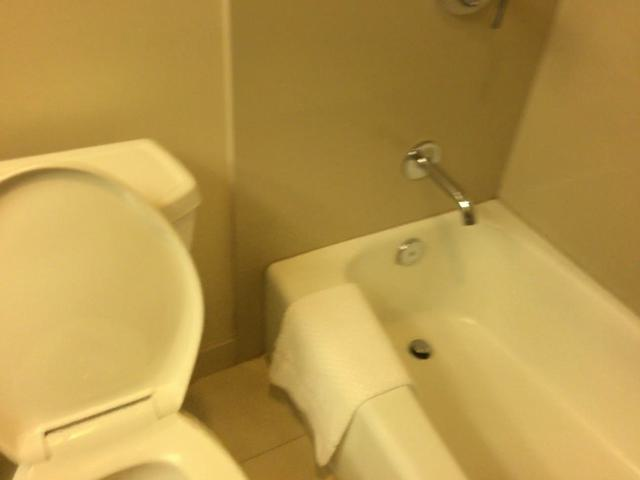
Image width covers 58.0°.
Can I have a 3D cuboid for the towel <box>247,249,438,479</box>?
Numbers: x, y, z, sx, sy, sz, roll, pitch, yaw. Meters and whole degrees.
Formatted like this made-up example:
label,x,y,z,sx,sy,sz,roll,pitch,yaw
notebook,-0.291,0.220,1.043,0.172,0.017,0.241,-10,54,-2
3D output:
label,x,y,z,sx,sy,sz,roll,pitch,yaw
towel,0.020,0.310,1.350,0.230,0.360,0.410,-17,45,-25
